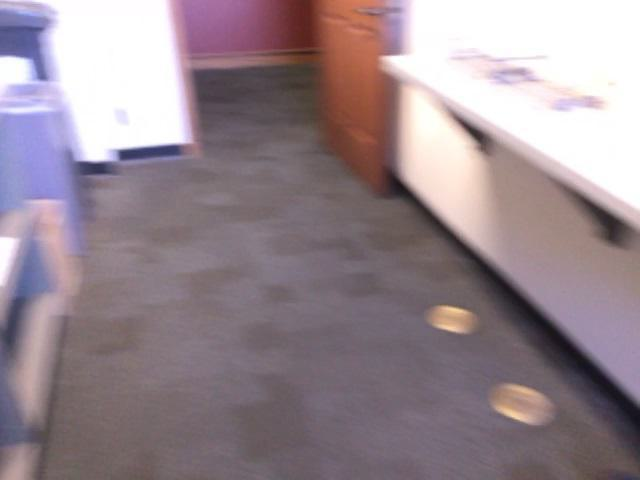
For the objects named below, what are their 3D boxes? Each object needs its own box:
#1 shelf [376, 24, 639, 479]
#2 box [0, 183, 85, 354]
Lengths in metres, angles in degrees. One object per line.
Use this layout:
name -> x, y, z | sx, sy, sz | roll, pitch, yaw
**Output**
shelf -> 0.630, -0.120, 1.470 | 0.450, 0.550, 1.530 | -9, 31, -13
box -> -1.290, 0.110, 2.250 | 0.590, 0.380, 0.620 | -9, 31, -13
